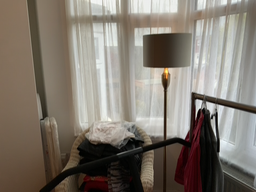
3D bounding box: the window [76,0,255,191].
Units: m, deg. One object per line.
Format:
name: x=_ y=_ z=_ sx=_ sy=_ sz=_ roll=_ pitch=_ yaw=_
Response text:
window: x=0.540 y=-0.390 z=0.870 sx=0.820 sy=1.790 sz=2.470 roll=-8 pitch=14 yaw=-28
